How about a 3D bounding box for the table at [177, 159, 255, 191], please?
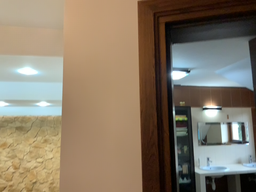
[{"bbox_3d":[1.980,1.680,3.870,1.990,0.810,0.680,0,-7,-12],"label":"table"}]
